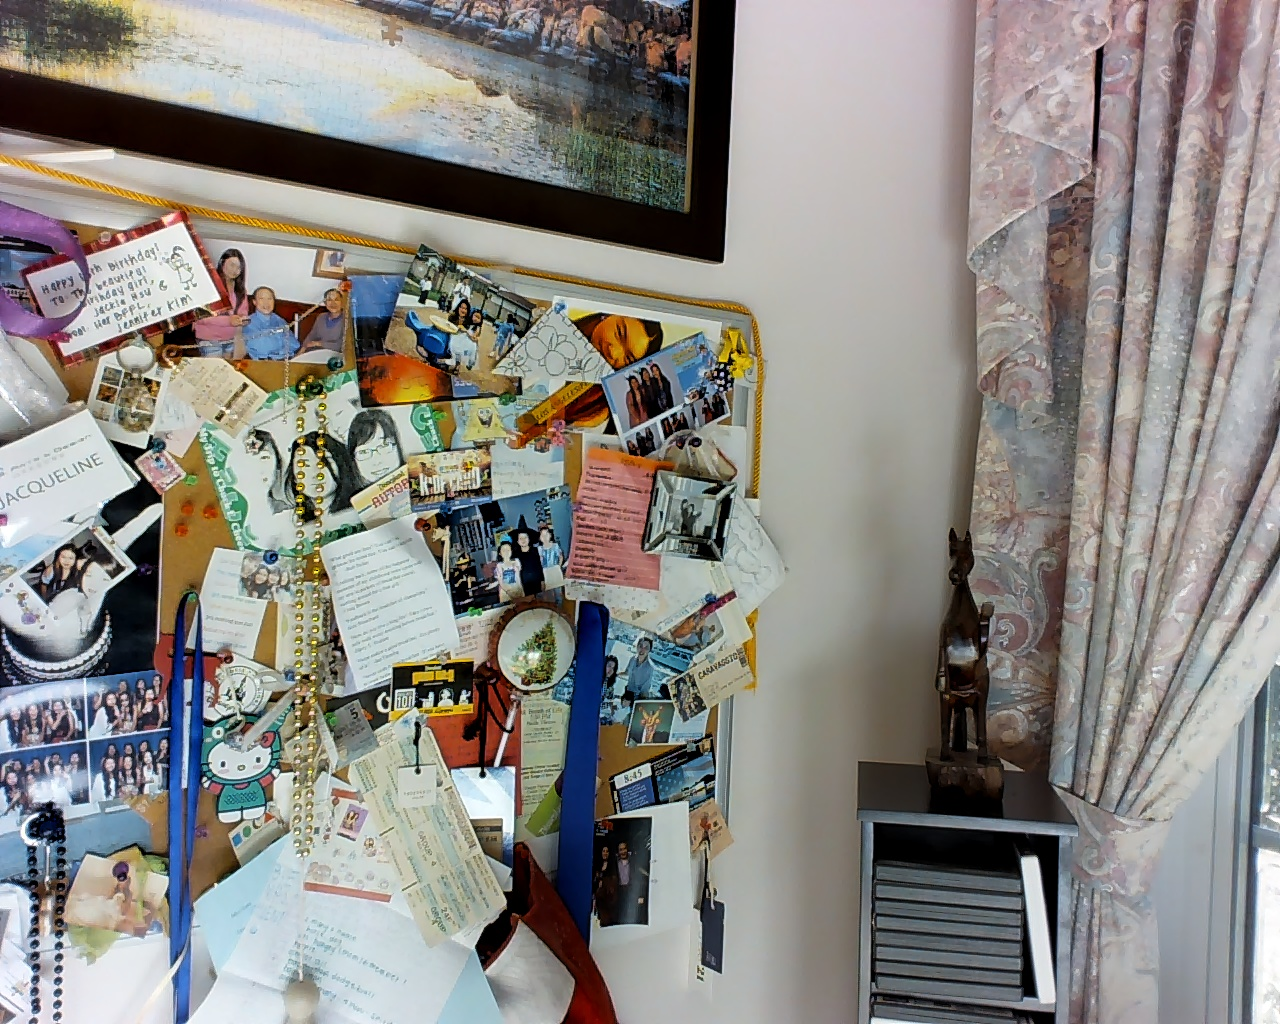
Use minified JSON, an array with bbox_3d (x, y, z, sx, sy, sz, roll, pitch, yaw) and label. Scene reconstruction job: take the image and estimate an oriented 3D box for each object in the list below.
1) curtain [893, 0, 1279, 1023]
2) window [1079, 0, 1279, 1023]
[{"bbox_3d":[0.670,-0.380,1.020,0.180,2.040,0.910,1,1,-32],"label":"curtain"},{"bbox_3d":[0.680,0.060,1.000,0.120,1.240,0.490,1,1,-32],"label":"window"}]
